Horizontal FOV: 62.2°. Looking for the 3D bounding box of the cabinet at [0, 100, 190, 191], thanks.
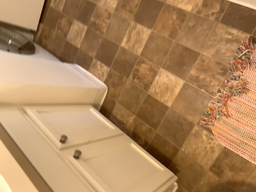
[{"bbox_3d":[-0.250,0.470,1.190,0.760,0.800,0.590,34,108,29],"label":"cabinet"}]
